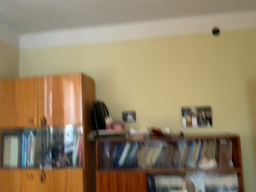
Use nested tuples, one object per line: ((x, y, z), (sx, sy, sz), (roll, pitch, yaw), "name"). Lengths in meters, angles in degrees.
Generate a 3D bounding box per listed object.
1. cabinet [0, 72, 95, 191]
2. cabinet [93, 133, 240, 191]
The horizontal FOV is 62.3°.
((-0.850, 0.550, 2.180), (0.910, 1.470, 0.430), (-3, -6, 7), "cabinet")
((0.340, 1.110, 1.970), (1.220, 1.450, 0.410), (-3, -6, 7), "cabinet")
